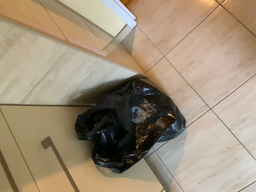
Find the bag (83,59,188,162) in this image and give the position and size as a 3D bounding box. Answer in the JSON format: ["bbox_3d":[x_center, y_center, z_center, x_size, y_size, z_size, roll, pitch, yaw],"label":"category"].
[{"bbox_3d":[0.050,0.060,0.920,0.230,0.310,0.300,-43,72,15],"label":"bag"}]
